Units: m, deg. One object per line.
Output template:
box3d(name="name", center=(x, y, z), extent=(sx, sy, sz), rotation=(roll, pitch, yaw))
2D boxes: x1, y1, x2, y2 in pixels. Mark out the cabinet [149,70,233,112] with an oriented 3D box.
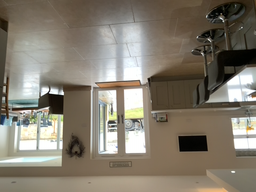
box3d(name="cabinet", center=(1.530, -0.100, 5.440), extent=(1.940, 0.890, 0.560), rotation=(-2, 170, 5))
